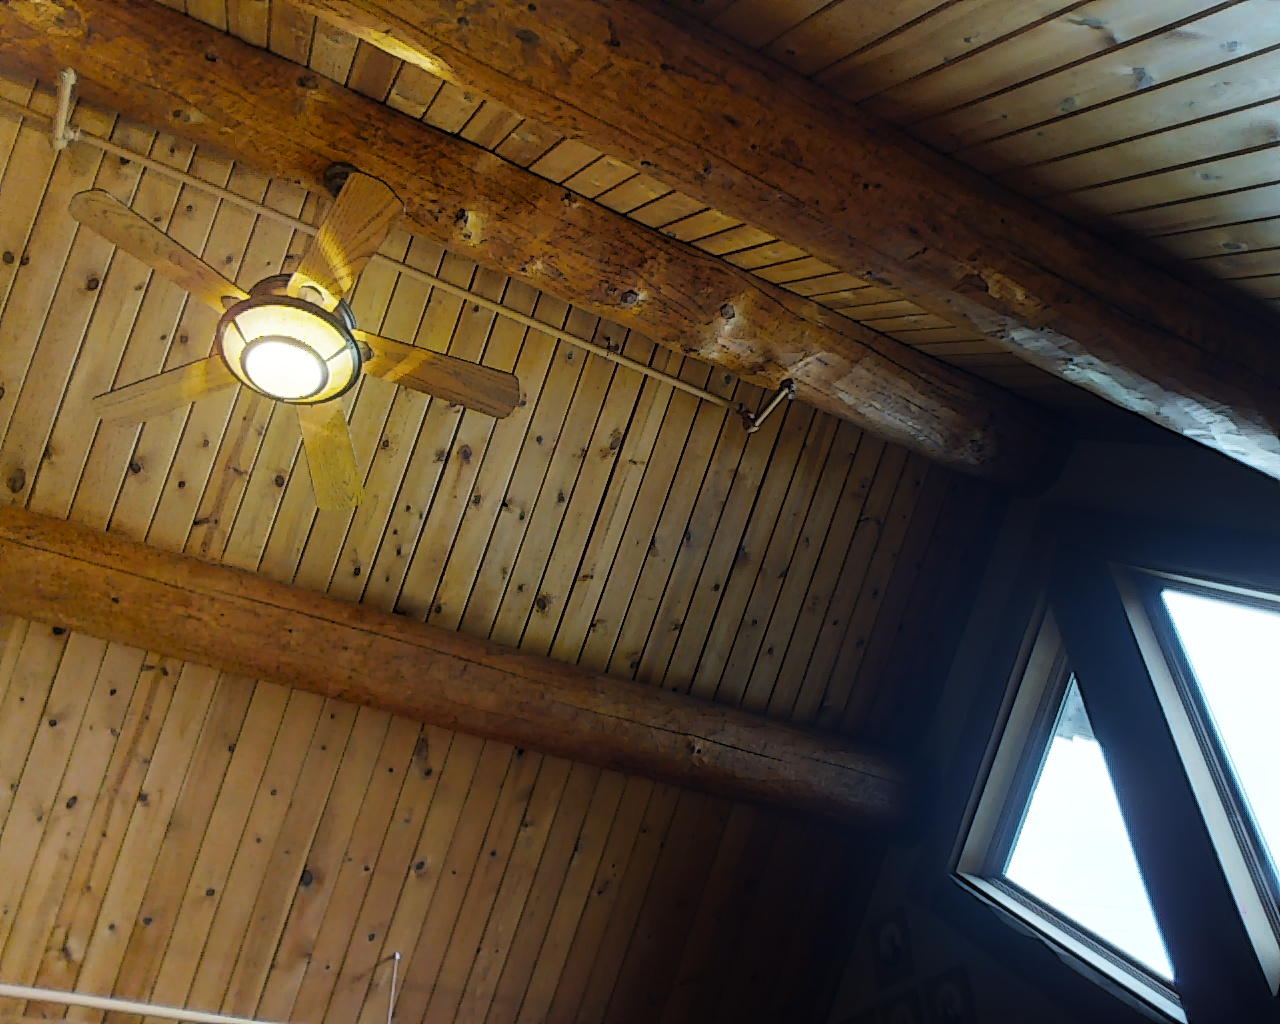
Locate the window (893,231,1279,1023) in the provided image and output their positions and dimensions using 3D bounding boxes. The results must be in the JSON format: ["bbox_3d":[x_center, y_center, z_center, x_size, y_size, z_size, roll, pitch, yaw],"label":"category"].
[{"bbox_3d":[1.959,0.630,3.840,0.430,2.511,2.190,20,-45,-21],"label":"window"}]
